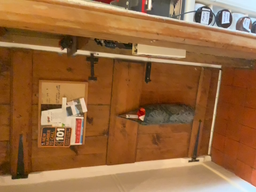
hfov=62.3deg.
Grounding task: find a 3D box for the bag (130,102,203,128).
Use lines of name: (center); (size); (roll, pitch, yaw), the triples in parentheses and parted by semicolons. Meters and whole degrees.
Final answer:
bag: (0.330, 0.150, 1.760); (0.120, 0.610, 0.180); (-153, 67, -65)
